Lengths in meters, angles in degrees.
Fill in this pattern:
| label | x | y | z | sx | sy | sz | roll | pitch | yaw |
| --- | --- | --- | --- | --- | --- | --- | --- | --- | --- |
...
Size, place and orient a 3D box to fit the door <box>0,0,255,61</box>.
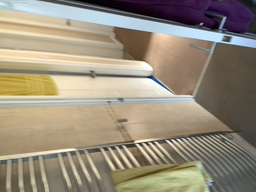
| label | x | y | z | sx | sy | sz | roll | pitch | yaw |
| --- | --- | --- | --- | --- | --- | --- | --- | --- | --- |
| door | 0.100 | -0.460 | 1.150 | 0.980 | 1.920 | 0.090 | 54 | 136 | 48 |
